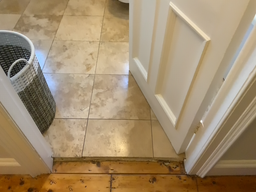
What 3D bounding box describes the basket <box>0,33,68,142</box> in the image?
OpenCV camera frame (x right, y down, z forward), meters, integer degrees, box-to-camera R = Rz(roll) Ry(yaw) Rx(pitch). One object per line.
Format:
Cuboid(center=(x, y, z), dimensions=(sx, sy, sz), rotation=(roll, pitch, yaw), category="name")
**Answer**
Cuboid(center=(-0.680, -0.040, 1.210), dimensions=(0.510, 0.450, 0.430), rotation=(1, 51, -1), category="basket")
